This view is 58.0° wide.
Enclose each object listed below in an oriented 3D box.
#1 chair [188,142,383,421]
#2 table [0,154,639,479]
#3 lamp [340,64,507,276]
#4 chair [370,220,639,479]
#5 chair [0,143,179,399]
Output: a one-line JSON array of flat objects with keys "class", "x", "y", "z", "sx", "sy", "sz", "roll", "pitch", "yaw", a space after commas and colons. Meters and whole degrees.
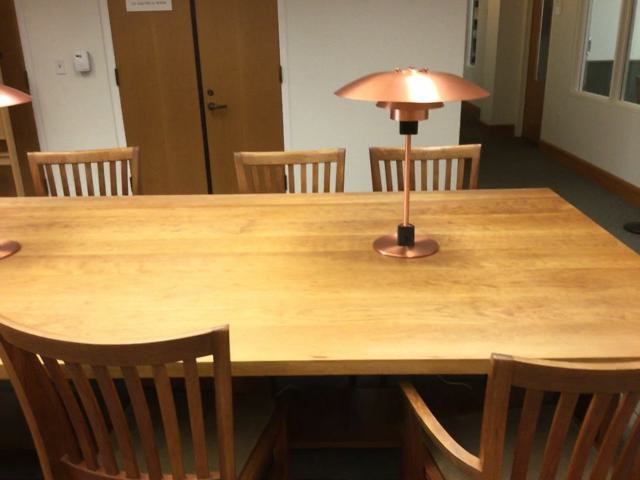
[{"class": "chair", "x": -0.120, "y": 0.130, "z": 2.410, "sx": 0.660, "sy": 0.960, "sz": 0.670, "roll": 2, "pitch": 18, "yaw": 1}, {"class": "table", "x": -0.390, "y": 0.340, "z": 1.930, "sx": 2.880, "sy": 0.950, "sz": 1.580, "roll": 2, "pitch": 18, "yaw": 1}, {"class": "lamp", "x": 0.270, "y": -0.230, "z": 1.740, "sx": 0.400, "sy": 0.560, "sz": 0.400, "roll": 2, "pitch": 18, "yaw": 1}, {"class": "chair", "x": 0.490, "y": 0.510, "z": 1.320, "sx": 0.680, "sy": 0.960, "sz": 0.630, "roll": 2, "pitch": 18, "yaw": 1}, {"class": "chair", "x": -1.000, "y": 0.100, "z": 2.520, "sx": 0.570, "sy": 0.940, "sz": 0.620, "roll": 2, "pitch": 18, "yaw": 1}]
